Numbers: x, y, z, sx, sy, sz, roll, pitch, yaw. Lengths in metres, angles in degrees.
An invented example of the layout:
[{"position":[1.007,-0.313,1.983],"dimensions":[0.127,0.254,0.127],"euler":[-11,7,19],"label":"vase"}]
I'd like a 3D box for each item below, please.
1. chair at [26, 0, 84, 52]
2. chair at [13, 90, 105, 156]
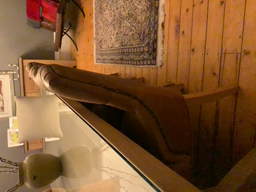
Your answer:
[{"position":[-1.310,-1.380,3.680],"dimensions":[0.840,0.770,0.810],"euler":[-55,46,50],"label":"chair"},{"position":[-0.910,0.280,2.800],"dimensions":[0.680,1.020,0.630],"euler":[9,101,62],"label":"chair"}]
